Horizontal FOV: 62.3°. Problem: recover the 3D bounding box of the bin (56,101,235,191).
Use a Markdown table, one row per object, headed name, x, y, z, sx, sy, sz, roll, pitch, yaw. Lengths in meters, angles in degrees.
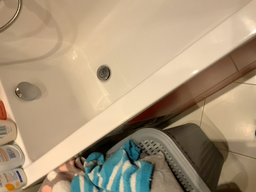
| name | x | y | z | sx | sy | sz | roll | pitch | yaw |
| --- | --- | --- | --- | --- | --- | --- | --- | --- | --- |
| bin | 0.090 | 0.290 | 0.840 | 0.480 | 0.440 | 0.320 | -38 | 72 | 24 |
